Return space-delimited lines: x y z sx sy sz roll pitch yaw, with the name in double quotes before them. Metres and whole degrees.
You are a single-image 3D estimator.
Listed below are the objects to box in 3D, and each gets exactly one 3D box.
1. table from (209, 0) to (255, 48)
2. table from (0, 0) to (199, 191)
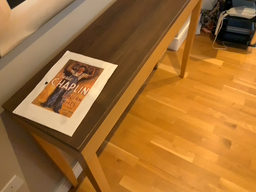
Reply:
"table" 1.050 -0.880 1.980 0.320 0.530 0.600 19 56 17
"table" 0.010 -0.130 1.250 0.330 0.870 1.290 23 57 20
